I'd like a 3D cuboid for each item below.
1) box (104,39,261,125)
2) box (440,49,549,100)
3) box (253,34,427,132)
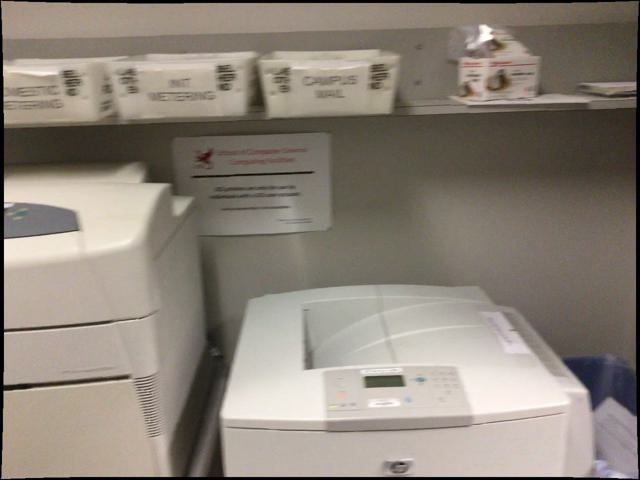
[{"bbox_3d":[-0.289,-0.371,1.330,0.279,0.150,0.380,-4,18,-3],"label":"box"},{"bbox_3d":[0.409,-0.401,1.390,0.180,0.100,0.230,-4,18,-3],"label":"box"},{"bbox_3d":[0.030,-0.371,1.340,0.339,0.170,0.410,-4,18,-3],"label":"box"}]
